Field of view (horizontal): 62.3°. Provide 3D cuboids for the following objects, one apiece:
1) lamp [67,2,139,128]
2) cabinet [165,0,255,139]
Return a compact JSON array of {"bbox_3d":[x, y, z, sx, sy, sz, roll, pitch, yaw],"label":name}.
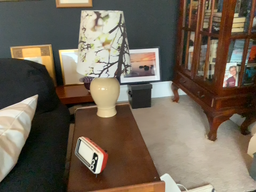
[{"bbox_3d":[-0.140,-0.210,1.320,0.340,0.670,0.390,-5,23,-8],"label":"lamp"},{"bbox_3d":[0.830,-0.710,2.090,0.470,1.870,1.130,-6,23,-10],"label":"cabinet"}]
